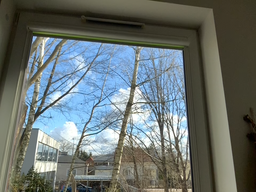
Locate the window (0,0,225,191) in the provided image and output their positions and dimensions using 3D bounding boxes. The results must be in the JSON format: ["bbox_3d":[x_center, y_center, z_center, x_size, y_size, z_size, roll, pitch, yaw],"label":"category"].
[{"bbox_3d":[-0.110,0.670,0.930,1.170,2.590,0.140,5,-18,-11],"label":"window"}]
